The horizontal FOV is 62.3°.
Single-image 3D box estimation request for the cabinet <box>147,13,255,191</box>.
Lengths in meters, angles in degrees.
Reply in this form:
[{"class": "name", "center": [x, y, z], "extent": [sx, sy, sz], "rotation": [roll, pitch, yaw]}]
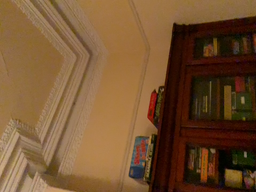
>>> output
[{"class": "cabinet", "center": [1.000, 0.100, 1.730], "extent": [0.350, 1.400, 1.850], "rotation": [57, -140, -52]}]
